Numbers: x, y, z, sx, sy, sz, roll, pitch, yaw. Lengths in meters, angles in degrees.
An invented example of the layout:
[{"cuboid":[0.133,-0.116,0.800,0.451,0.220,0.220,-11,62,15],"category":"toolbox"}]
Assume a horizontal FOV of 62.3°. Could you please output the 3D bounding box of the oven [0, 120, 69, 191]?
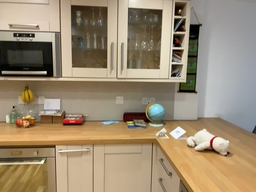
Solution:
[{"cuboid":[-0.920,0.750,2.000,0.600,0.910,0.600,0,8,-8],"category":"oven"}]
